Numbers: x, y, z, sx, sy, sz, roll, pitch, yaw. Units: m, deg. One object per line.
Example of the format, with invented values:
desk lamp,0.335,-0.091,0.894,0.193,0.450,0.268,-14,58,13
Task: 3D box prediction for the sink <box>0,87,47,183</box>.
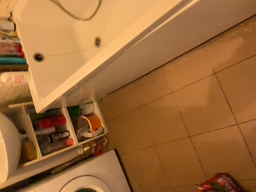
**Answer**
sink,-0.800,0.270,1.410,0.380,0.210,0.530,-29,79,41
